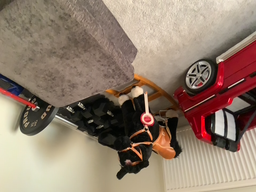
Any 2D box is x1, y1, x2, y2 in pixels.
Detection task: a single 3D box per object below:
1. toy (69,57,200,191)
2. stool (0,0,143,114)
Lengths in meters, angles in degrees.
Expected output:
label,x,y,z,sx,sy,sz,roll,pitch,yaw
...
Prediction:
label,x,y,z,sx,sy,sz,roll,pitch,yaw
toy,0.110,0.330,1.760,0.490,0.740,0.990,-23,140,28
stool,-0.400,-0.280,1.250,0.690,0.320,0.750,-20,141,25
